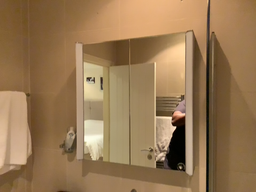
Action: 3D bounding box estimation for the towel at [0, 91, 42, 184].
[{"bbox_3d":[-0.750,0.230,1.270,0.130,0.510,0.500,0,2,19],"label":"towel"}]
